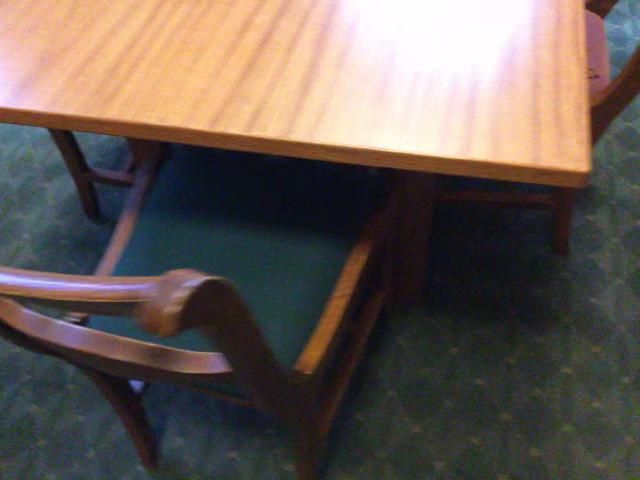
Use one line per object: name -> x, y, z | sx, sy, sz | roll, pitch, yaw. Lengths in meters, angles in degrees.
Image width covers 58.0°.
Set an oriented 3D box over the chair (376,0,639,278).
chair -> 0.410, -0.330, 1.230 | 0.490, 0.680, 0.460 | 10, 58, 11
